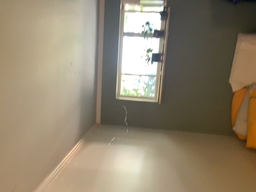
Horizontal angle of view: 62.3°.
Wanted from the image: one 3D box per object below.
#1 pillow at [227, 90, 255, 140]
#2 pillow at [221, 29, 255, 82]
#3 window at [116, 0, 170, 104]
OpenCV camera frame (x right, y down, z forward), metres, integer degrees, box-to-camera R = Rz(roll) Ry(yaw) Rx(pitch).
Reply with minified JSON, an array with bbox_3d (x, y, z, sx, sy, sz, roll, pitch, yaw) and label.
[{"bbox_3d":[1.460,0.210,2.580,0.500,0.270,0.520,-40,-46,-83],"label":"pillow"},{"bbox_3d":[1.460,-0.470,2.560,0.490,0.350,0.220,-51,-11,11],"label":"pillow"},{"bbox_3d":[0.190,-0.610,2.910,0.140,0.630,1.380,-57,-28,-79],"label":"window"}]
